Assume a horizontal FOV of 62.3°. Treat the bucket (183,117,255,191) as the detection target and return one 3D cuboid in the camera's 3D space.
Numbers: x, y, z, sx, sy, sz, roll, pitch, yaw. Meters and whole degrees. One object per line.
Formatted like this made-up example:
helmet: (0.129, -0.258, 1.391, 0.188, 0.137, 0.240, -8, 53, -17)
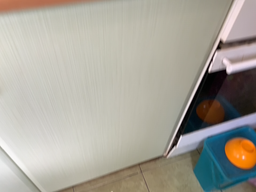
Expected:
bucket: (0.410, 0.250, 0.860, 0.260, 0.270, 0.160, -11, 53, -14)
